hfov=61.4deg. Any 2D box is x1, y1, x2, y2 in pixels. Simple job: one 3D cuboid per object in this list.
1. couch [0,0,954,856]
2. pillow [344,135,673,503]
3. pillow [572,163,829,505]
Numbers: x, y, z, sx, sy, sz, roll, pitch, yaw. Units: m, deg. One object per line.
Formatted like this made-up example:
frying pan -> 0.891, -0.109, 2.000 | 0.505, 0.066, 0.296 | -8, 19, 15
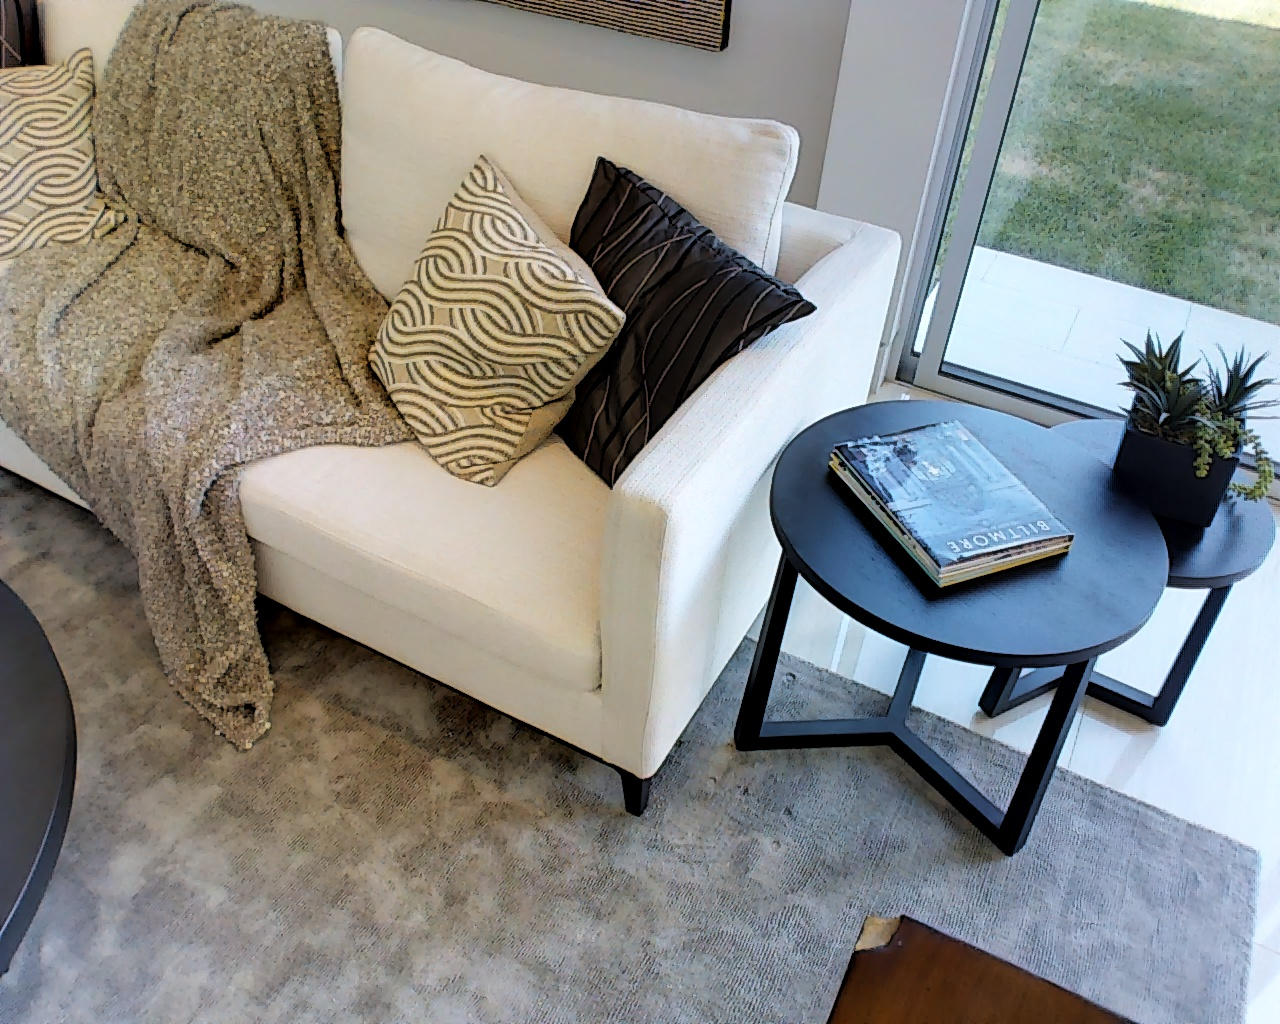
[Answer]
couch -> -0.730, -0.460, 2.240 | 2.320, 0.870, 1.060 | 22, 44, 20
pillow -> -0.230, -0.340, 1.930 | 0.400, 0.380, 0.370 | 25, 44, -10
pillow -> 0.070, -0.310, 1.840 | 0.360, 0.390, 0.460 | 0, 41, -5
